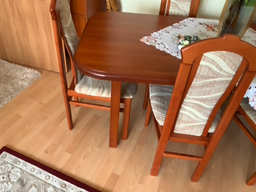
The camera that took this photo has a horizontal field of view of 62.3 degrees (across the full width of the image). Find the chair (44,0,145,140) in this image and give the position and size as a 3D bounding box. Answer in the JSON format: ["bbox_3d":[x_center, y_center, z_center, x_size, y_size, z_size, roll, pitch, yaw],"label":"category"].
[{"bbox_3d":[-0.200,-0.210,1.520,0.490,1.030,0.440,6,40,-1],"label":"chair"}]

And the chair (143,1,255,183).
[{"bbox_3d":[0.390,0.030,1.330,0.450,1.000,0.520,6,40,-2],"label":"chair"}]
